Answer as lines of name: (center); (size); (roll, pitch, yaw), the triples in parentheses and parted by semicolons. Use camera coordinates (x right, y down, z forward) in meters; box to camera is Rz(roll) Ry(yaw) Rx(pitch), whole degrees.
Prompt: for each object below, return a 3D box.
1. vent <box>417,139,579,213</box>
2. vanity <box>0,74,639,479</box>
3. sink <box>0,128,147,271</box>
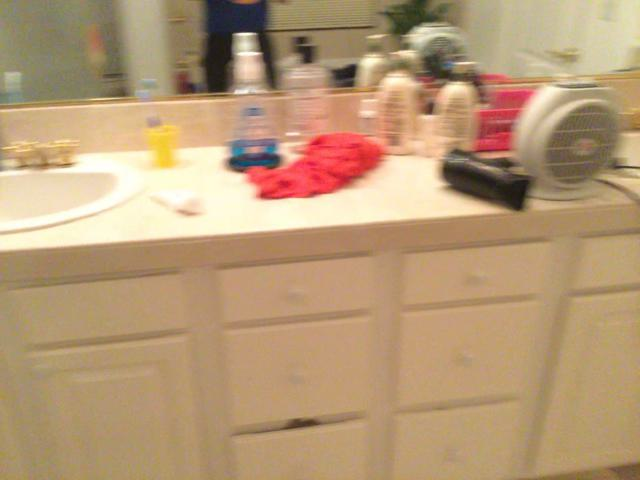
vent: (0.380, -0.150, 1.290); (0.250, 0.080, 0.280); (-3, 23, -6)
vanity: (0.080, 0.190, 1.490); (2.350, 1.090, 0.610); (-3, 23, -6)
sink: (-0.650, -0.110, 1.320); (0.410, 0.190, 0.440); (-3, 23, -6)
